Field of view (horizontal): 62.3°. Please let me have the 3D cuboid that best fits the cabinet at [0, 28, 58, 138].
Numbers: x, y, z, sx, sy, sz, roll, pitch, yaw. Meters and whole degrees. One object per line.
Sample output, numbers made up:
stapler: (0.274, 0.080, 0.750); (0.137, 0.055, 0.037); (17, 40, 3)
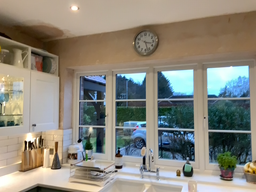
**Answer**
cabinet: (-1.290, -0.110, 2.450); (0.340, 1.080, 1.030); (-1, -3, 19)
